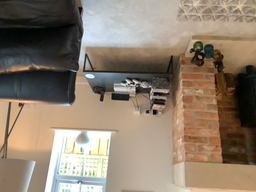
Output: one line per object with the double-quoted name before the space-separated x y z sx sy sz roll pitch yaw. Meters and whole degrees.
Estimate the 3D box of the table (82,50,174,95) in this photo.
"table" 0.010 -0.270 2.680 1.010 0.250 0.660 3 160 3
